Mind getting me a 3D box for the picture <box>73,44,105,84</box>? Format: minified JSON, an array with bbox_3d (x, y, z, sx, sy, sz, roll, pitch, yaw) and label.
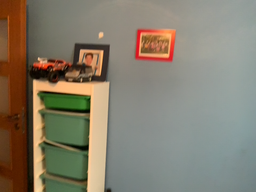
[{"bbox_3d":[-0.320,-0.260,1.720,0.250,0.300,0.040,6,9,15],"label":"picture"}]
